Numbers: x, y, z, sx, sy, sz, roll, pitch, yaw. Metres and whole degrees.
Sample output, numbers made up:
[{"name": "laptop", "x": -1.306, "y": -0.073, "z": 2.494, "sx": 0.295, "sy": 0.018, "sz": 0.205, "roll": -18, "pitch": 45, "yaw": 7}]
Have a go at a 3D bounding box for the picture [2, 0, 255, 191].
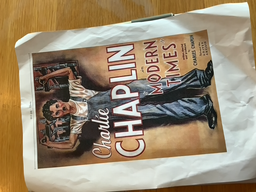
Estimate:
[{"name": "picture", "x": 0.010, "y": 0.000, "z": 0.260, "sx": 0.320, "sy": 0.040, "sz": 0.240, "roll": -4, "pitch": 82, "yaw": 7}]
